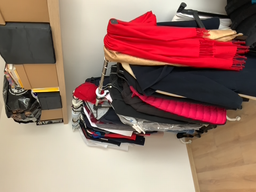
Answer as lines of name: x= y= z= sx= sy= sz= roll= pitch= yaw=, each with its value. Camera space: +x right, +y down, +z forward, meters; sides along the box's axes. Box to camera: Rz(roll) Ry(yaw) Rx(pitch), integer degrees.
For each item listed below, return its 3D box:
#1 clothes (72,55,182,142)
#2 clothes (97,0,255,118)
clothes: x=-0.070 y=0.050 z=2.070 sx=0.550 sy=0.910 sz=0.640 roll=122 pitch=145 yaw=-62
clothes: x=0.350 y=-0.300 z=1.240 sx=0.350 sy=0.980 sz=0.770 roll=121 pitch=146 yaw=-62
